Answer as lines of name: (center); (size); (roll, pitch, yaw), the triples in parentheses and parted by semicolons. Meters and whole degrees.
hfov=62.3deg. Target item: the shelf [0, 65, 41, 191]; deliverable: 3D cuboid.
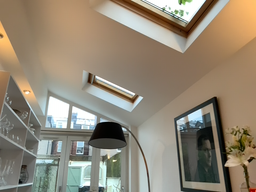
shelf: (-1.370, 1.050, 2.330); (0.260, 2.030, 2.140); (5, -21, -13)
